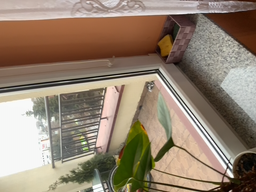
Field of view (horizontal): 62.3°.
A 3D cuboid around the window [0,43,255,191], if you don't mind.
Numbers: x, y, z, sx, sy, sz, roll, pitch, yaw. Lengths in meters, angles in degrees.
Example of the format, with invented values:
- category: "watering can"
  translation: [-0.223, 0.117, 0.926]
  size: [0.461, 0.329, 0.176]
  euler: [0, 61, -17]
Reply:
- category: "window"
  translation: [-0.240, 0.300, 0.540]
  size: [1.100, 1.440, 0.220]
  euler: [61, 149, 36]
